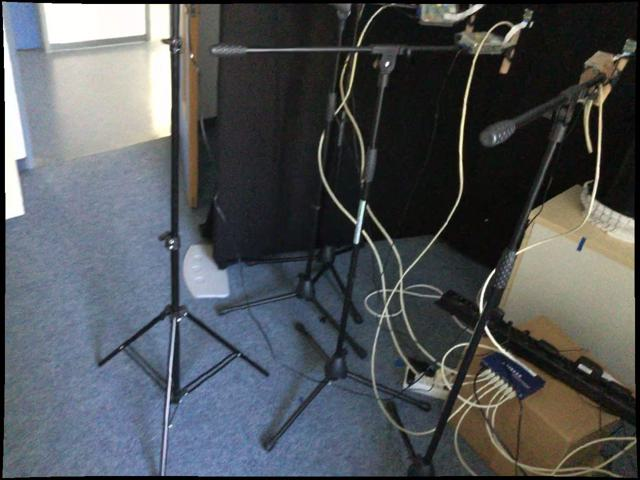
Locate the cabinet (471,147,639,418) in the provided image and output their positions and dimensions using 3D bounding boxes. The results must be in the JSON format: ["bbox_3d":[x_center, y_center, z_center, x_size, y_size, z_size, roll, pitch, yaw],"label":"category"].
[{"bbox_3d":[1.139,0.160,2.130,0.500,0.610,0.880,-25,46,-38],"label":"cabinet"}]

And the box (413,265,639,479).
[{"bbox_3d":[0.659,0.430,1.810,0.490,0.370,0.470,-25,46,-38],"label":"box"}]
